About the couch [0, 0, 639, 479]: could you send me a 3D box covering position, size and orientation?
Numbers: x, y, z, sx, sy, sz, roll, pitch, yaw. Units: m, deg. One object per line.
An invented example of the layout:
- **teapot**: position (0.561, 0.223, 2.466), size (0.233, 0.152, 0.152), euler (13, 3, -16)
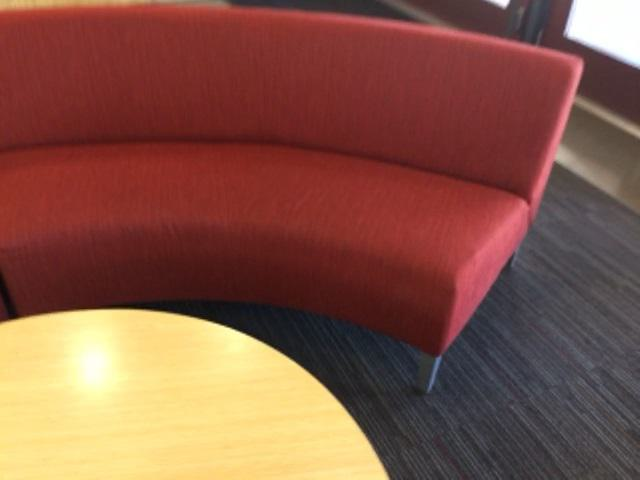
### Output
- **couch**: position (-0.660, -0.080, 1.500), size (2.950, 0.810, 1.270), euler (-11, 41, -16)
